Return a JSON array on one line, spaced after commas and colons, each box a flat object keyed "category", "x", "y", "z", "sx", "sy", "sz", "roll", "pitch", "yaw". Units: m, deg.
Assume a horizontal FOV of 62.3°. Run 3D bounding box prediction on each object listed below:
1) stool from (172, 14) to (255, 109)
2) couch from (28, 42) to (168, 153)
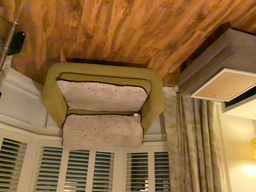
[{"category": "stool", "x": 0.940, "y": -0.260, "z": 2.110, "sx": 0.620, "sy": 0.410, "sz": 0.880, "roll": 9, "pitch": 154, "yaw": -15}, {"category": "couch", "x": -0.290, "y": 0.100, "z": 2.440, "sx": 1.200, "sy": 0.860, "sz": 0.970, "roll": 5, "pitch": 155, "yaw": -6}]
